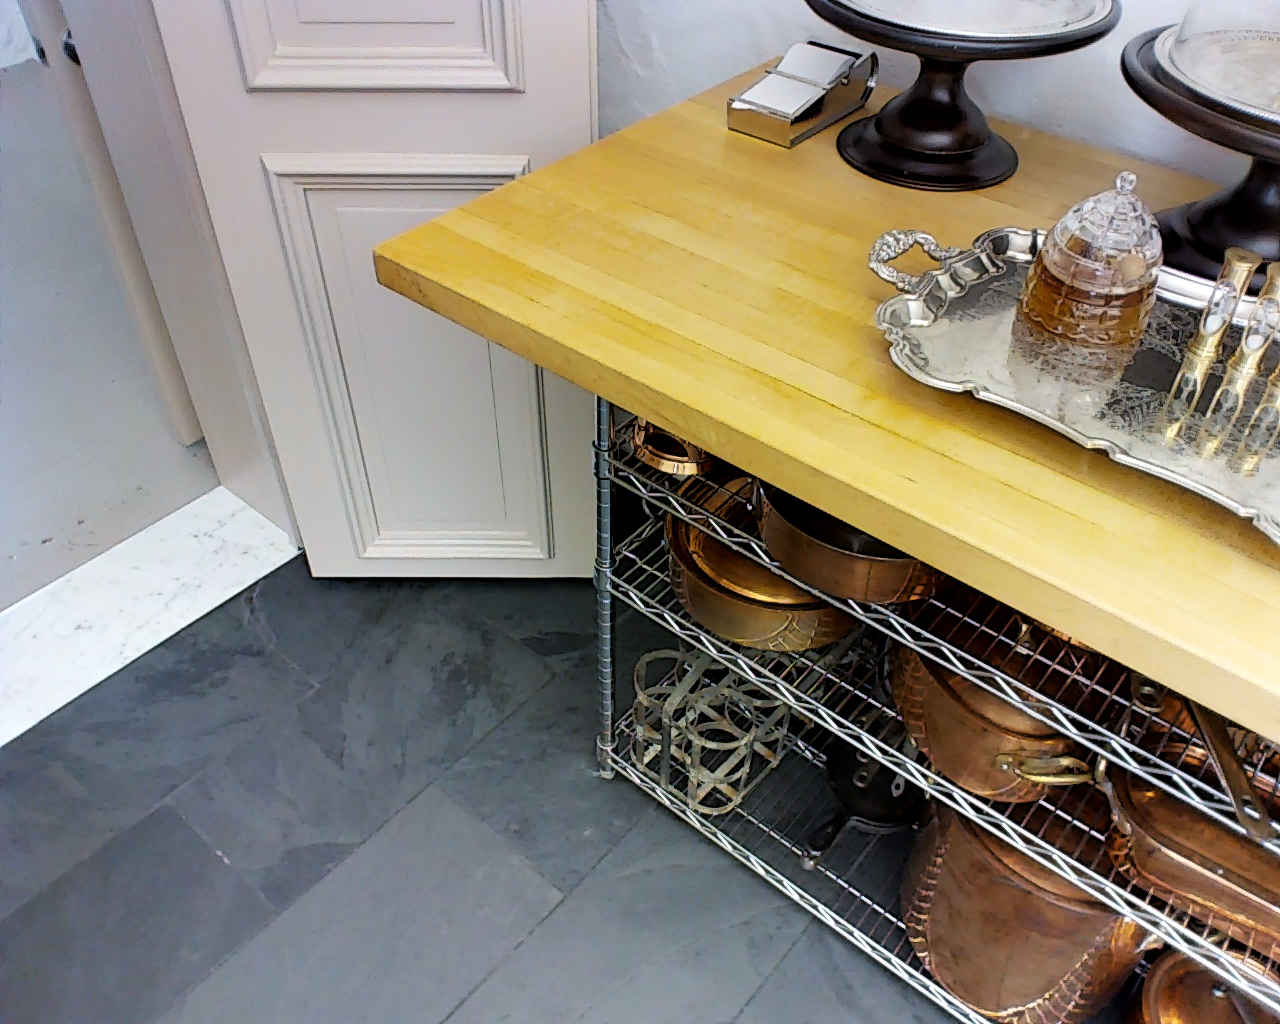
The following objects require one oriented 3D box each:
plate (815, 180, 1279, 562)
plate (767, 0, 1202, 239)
[{"bbox_3d":[0.480,-0.130,0.950,0.550,0.050,0.330,31,51,28],"label":"plate"},{"bbox_3d":[0.400,-0.530,1.290,0.380,0.190,0.290,31,51,28],"label":"plate"}]
